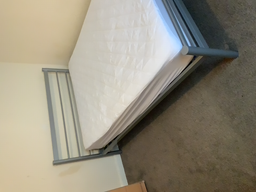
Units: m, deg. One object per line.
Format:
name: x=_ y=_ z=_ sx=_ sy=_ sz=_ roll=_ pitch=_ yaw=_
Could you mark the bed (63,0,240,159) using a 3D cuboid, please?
bed: x=-0.130 y=-0.380 z=2.390 sx=2.070 sy=0.540 sz=1.520 roll=-49 pitch=50 yaw=48
